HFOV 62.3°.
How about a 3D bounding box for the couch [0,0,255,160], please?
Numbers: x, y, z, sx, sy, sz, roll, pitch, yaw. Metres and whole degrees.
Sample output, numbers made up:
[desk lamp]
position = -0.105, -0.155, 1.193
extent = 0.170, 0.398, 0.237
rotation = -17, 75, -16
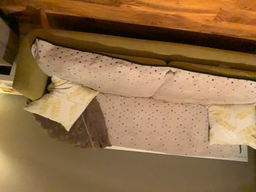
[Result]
[couch]
position = 0.190, 0.020, 1.890
extent = 2.110, 0.900, 1.030
rotation = 6, 165, -4
